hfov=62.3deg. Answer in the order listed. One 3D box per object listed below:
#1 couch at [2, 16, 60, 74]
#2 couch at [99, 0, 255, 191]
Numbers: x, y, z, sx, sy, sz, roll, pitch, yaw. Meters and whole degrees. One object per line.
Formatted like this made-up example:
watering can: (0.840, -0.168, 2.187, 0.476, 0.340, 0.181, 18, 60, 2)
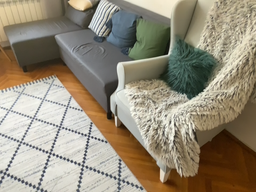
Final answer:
couch: (-1.280, -0.700, 2.800, 0.480, 0.440, 0.680, -20, 42, -26)
couch: (0.390, -0.080, 1.540, 0.840, 1.060, 0.850, -20, 42, -26)
